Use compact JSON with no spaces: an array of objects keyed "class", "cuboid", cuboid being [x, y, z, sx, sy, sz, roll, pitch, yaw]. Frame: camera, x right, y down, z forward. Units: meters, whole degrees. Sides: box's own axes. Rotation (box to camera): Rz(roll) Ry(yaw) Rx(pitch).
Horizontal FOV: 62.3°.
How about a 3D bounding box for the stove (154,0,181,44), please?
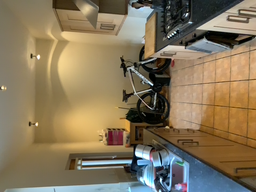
[{"class":"stove","cuboid":[0.400,-0.890,2.230,0.640,0.030,0.530,-177,89,-78]}]
